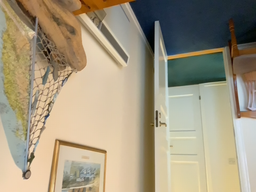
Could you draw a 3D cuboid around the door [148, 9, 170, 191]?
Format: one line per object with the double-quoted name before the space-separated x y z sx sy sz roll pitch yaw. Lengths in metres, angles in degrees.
"door" 0.330 0.320 2.180 0.100 2.200 0.910 -3 160 15
